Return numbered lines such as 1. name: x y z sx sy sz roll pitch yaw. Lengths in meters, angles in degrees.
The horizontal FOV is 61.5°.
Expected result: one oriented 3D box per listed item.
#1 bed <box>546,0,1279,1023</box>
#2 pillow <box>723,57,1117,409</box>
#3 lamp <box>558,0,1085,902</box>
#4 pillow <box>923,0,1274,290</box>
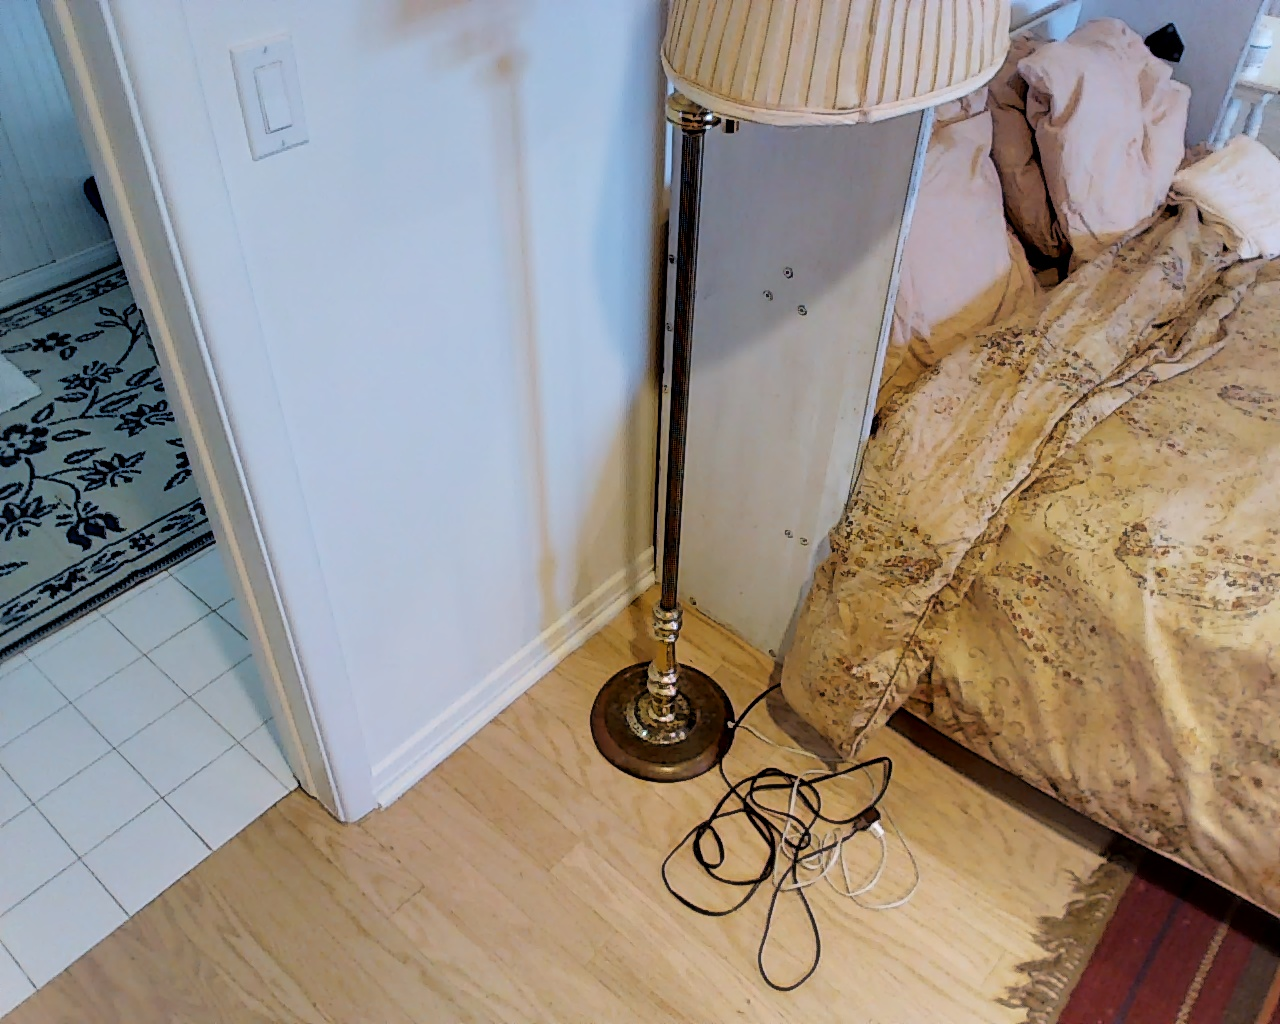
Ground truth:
1. bed: 1.340 -0.060 1.850 2.350 0.920 1.840 32 50 29
2. pillow: 0.490 -0.490 1.850 0.120 0.350 0.760 47 58 8
3. lamp: 0.170 -0.100 1.430 0.380 1.510 0.360 31 50 28
4. pillow: 0.940 -0.840 2.200 0.270 0.430 0.660 41 58 2
